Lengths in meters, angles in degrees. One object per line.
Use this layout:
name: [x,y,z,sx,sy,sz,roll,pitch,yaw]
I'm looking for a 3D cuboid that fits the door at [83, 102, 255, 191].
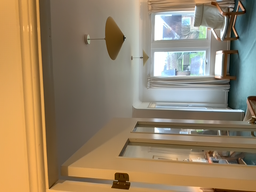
door: [0.850,0.260,1.180,0.720,2.020,0.170,-64,-27,-68]
